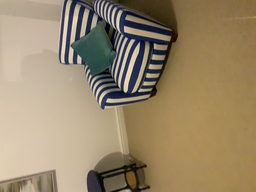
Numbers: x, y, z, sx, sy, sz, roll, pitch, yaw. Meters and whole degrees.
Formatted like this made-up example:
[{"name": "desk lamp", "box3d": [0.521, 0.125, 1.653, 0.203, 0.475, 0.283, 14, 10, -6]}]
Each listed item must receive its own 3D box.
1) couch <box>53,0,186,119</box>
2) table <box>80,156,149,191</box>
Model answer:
[{"name": "couch", "box3d": [-0.190, -0.460, 2.140, 0.920, 0.840, 0.920, 48, 132, 45]}, {"name": "table", "box3d": [-0.160, 0.940, 2.400, 0.390, 0.630, 0.380, -20, 76, 57]}]
